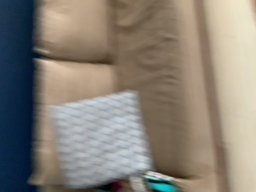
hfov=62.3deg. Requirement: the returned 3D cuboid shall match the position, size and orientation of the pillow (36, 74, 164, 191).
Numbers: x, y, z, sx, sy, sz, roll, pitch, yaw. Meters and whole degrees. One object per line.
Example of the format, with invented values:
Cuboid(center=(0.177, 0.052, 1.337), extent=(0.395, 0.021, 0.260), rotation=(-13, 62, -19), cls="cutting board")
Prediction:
Cuboid(center=(-0.120, 0.250, 1.180), extent=(0.480, 0.530, 0.220), rotation=(36, 149, -18), cls="pillow")
